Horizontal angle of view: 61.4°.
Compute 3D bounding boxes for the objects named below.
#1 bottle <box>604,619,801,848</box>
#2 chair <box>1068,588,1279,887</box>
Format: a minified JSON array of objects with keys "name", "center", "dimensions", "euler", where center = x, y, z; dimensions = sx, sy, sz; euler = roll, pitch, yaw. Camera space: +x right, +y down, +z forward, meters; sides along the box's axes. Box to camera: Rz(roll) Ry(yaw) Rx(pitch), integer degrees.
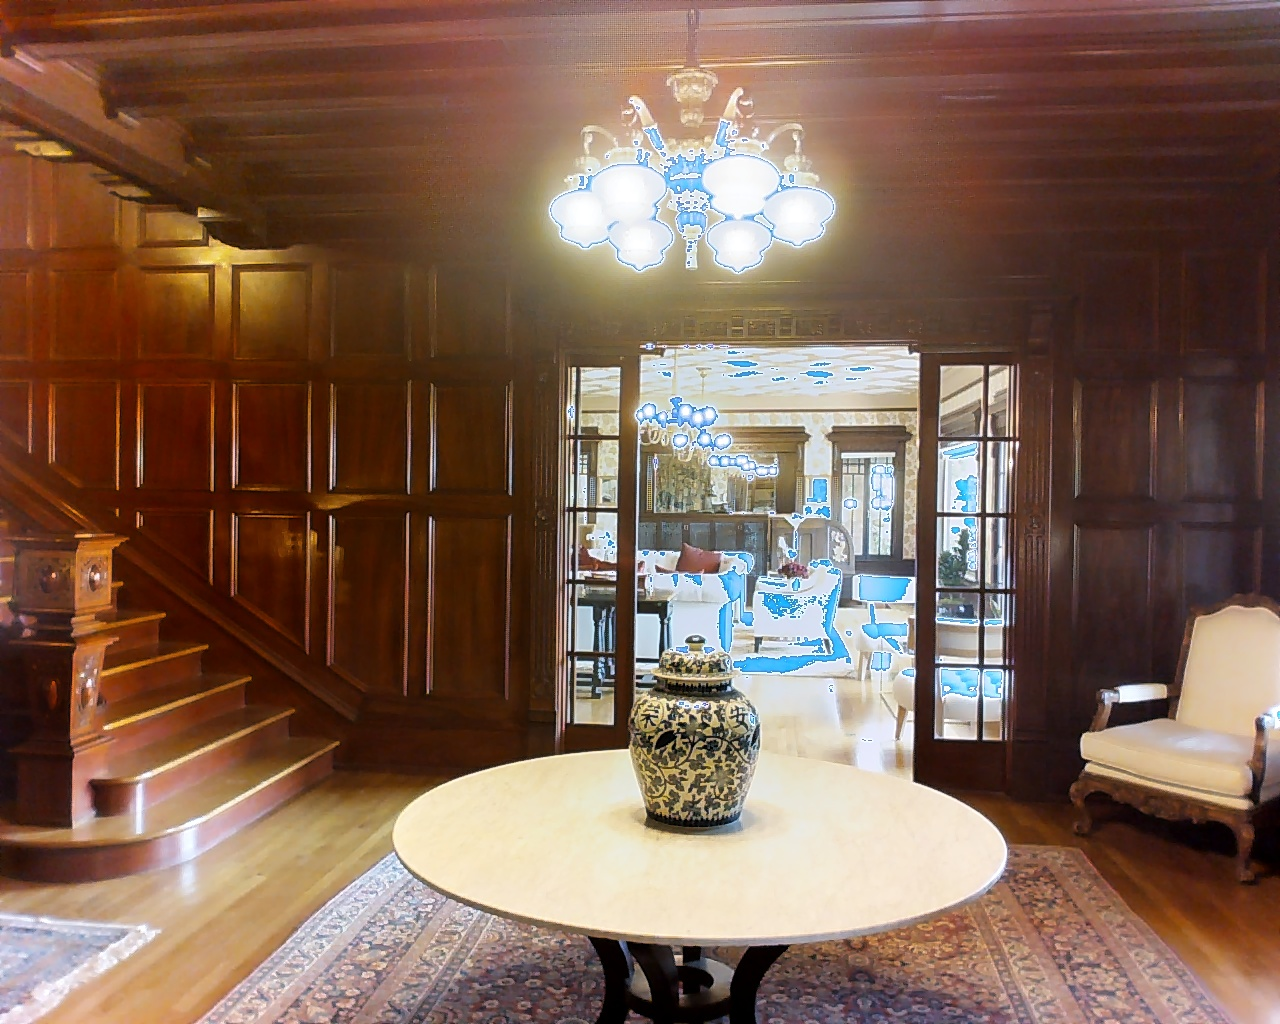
[{"name":"bottle","center":[0.150,0.560,2.830],"dimensions":[0.470,0.500,0.440],"euler":[1,1,-1]},{"name":"chair","center":[2.730,0.970,5.050],"dimensions":[1.070,1.120,0.860],"euler":[0,1,-32]}]
